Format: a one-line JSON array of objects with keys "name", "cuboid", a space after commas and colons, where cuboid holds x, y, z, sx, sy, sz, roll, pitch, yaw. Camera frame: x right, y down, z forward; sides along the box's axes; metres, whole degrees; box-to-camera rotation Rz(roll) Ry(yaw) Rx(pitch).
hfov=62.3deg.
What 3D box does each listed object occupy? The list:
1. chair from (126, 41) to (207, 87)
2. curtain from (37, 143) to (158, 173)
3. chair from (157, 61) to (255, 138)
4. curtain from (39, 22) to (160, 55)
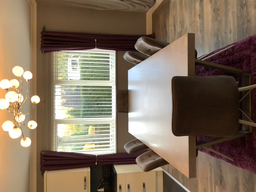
[{"name": "chair", "cuboid": [0.470, -0.380, 2.730, 0.430, 0.920, 0.510, -164, 75, -77]}, {"name": "curtain", "cuboid": [-0.540, 1.200, 4.200, 0.230, 2.310, 0.380, 169, 101, -77]}, {"name": "chair", "cuboid": [0.740, 0.040, 1.600, 0.530, 0.900, 0.450, 160, 110, -77]}, {"name": "curtain", "cuboid": [-0.510, -1.120, 4.220, 0.260, 2.300, 0.440, 159, 110, -77]}]
